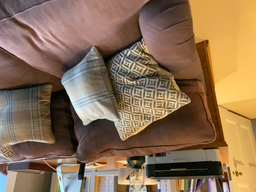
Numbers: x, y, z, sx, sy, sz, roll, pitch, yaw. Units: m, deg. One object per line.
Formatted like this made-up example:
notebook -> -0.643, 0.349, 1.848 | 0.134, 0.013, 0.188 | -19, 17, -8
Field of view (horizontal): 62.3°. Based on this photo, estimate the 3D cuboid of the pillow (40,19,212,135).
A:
pillow -> 0.000, -0.030, 1.010 | 0.680, 0.280, 0.370 | -11, 154, 22
